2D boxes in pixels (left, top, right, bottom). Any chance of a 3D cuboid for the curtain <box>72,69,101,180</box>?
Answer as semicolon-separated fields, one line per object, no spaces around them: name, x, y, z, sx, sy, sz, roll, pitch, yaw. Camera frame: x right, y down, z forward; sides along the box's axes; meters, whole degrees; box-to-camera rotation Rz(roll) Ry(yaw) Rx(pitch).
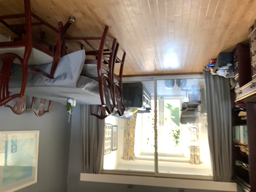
curtain;-0.820;0.540;4.290;0.410;2.140;0.320;0;172;9

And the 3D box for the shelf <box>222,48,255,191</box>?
shelf;1.830;0.380;3.350;0.320;1.980;1.020;-1;172;10

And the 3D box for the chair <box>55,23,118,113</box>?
chair;-0.470;-0.290;2.580;0.570;0.970;0.510;-1;172;10

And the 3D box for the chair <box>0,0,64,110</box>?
chair;-1.050;-0.370;2.090;0.540;0.970;0.550;-1;172;13

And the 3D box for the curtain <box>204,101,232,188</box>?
curtain;1.590;0.830;3.800;0.360;1.450;0.310;-1;172;13
